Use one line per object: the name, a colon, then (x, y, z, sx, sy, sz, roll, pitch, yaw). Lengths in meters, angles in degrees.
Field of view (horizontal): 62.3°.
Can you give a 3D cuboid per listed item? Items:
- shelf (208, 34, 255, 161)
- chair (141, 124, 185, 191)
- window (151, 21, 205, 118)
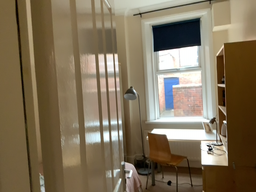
shelf: (1.050, 0.000, 2.190, 0.320, 1.050, 0.840, -3, 3, 17)
chair: (0.520, 0.870, 3.050, 0.440, 0.830, 0.480, -2, 3, 30)
window: (0.940, -0.450, 4.010, 0.900, 1.710, 0.190, -2, 3, 23)
